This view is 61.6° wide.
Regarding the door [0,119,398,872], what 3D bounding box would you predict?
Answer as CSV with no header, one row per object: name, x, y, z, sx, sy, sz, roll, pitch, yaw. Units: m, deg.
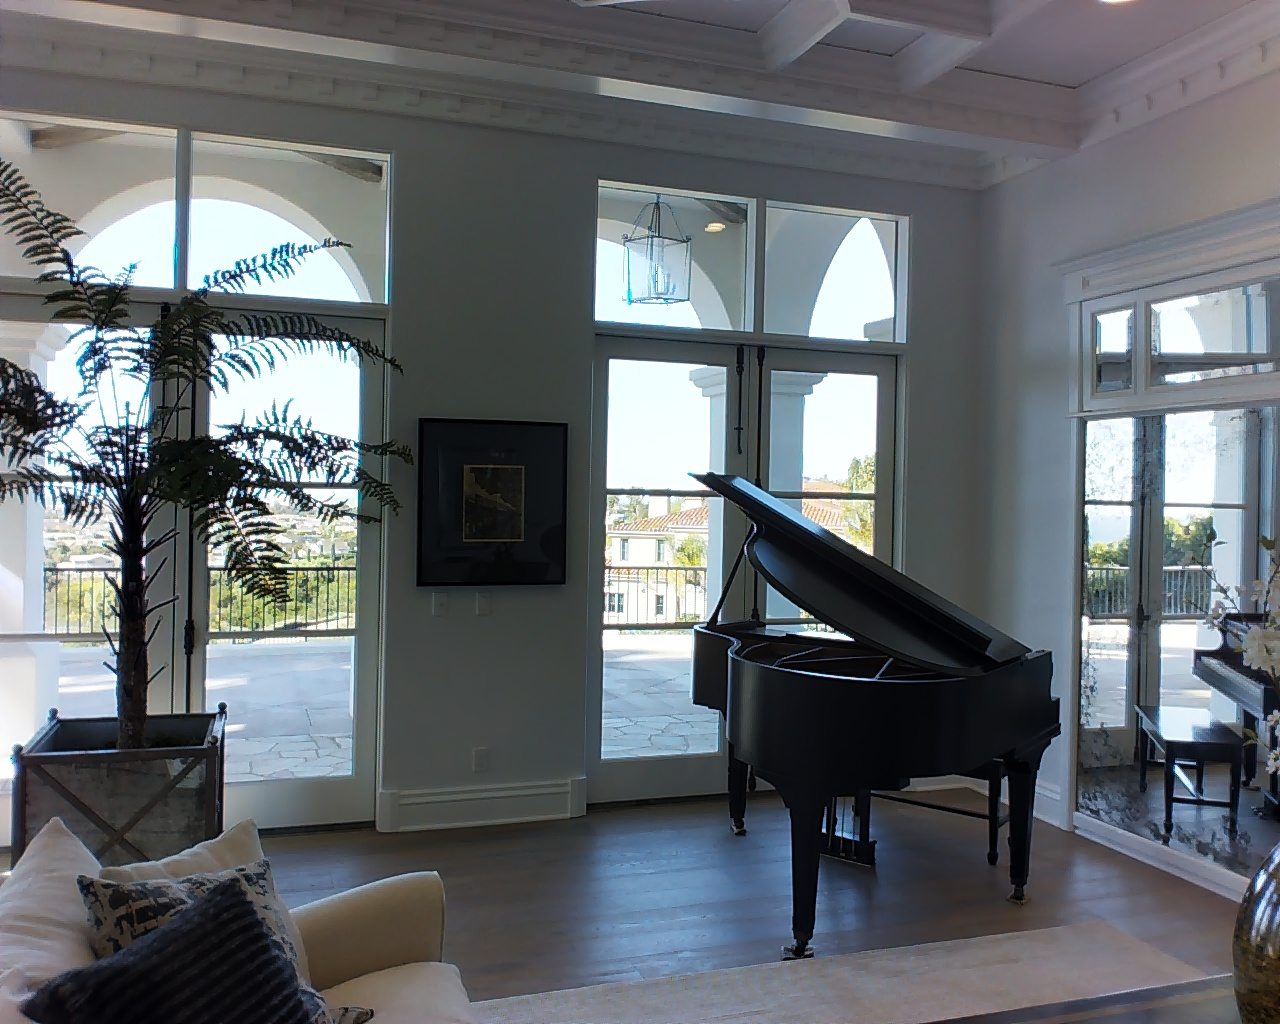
door,-2.069,-0.060,4.840,1.839,3.181,0.170,1,-1,-19

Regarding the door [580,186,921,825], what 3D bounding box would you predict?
door,0.630,-0.020,5.760,1.869,3.201,0.180,1,-1,-19
